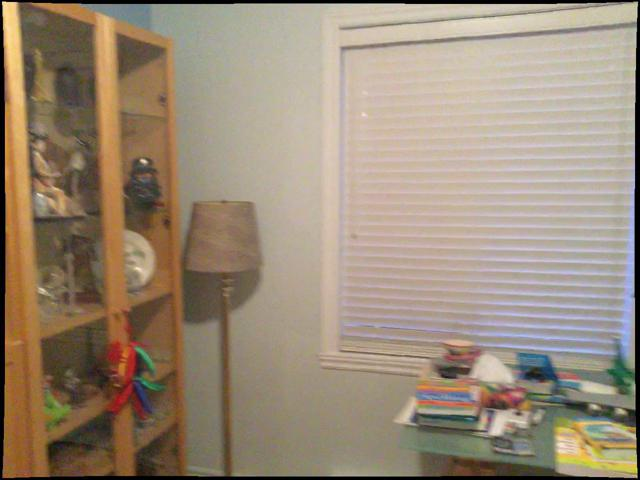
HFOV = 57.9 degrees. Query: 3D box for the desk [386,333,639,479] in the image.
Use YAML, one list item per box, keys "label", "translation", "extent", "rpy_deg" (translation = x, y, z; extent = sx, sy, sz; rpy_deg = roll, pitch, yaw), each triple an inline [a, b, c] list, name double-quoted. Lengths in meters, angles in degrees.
- label: "desk"
  translation: [1.019, 0.851, 1.770]
  extent: [1.499, 0.781, 0.860]
  rpy_deg: [2, 9, 17]
